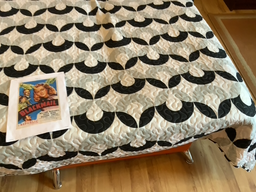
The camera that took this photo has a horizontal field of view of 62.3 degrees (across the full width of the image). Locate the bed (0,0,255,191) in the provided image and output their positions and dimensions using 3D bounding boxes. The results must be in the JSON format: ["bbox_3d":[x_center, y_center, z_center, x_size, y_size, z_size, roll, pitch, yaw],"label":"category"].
[{"bbox_3d":[-0.230,-0.520,1.450,1.310,0.490,2.000,-6,56,-8],"label":"bed"}]
